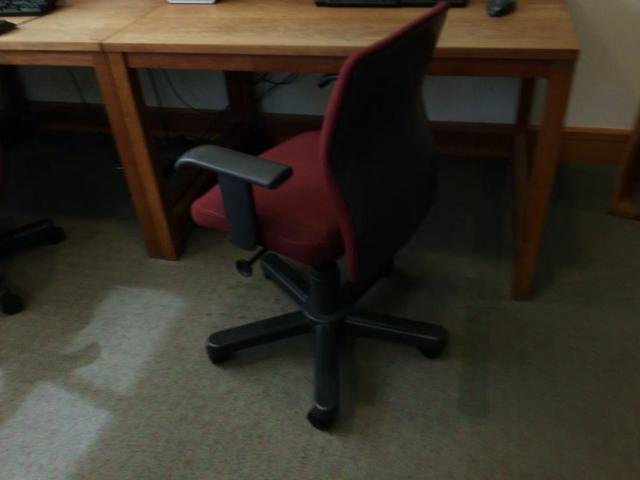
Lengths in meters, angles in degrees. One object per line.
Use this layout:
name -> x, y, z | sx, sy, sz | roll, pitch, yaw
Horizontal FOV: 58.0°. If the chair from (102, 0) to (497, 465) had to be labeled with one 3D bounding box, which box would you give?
chair -> 0.000, -0.090, 1.450 | 0.590, 0.930, 0.620 | 16, 35, 25
